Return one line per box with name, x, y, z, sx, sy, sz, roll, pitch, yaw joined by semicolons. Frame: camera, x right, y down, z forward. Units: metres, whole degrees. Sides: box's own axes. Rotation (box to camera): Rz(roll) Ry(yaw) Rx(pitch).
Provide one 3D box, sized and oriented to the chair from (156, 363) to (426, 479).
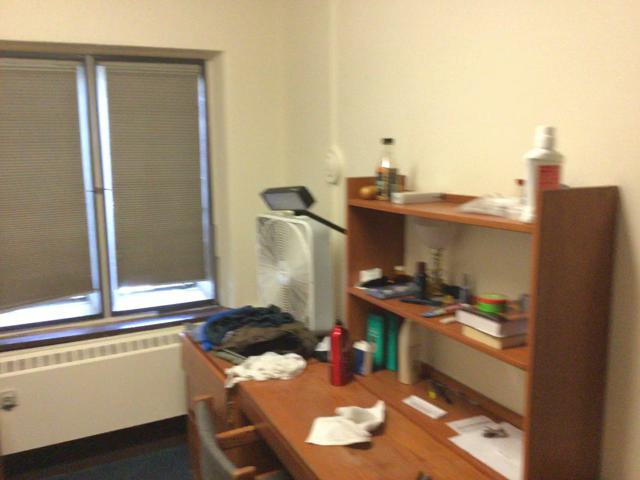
chair;-0.110;0.900;1.810;0.650;0.770;0.570;-5;9;-25
